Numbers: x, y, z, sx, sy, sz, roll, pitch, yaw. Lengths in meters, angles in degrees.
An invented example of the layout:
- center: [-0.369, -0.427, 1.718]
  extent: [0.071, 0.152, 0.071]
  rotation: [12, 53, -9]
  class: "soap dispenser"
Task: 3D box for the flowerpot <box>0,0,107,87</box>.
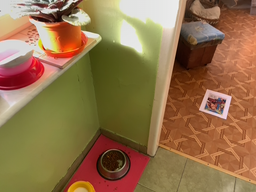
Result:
- center: [-0.280, -0.240, 0.750]
  extent: [0.320, 0.240, 0.240]
  rotation: [20, 46, 18]
  class: "flowerpot"
